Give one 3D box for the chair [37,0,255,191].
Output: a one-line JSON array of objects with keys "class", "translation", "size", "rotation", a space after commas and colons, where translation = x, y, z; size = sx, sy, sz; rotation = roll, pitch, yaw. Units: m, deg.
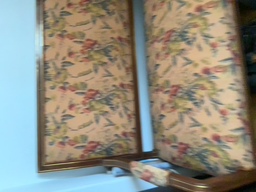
[{"class": "chair", "translation": [0.150, -0.370, 1.030], "size": [0.670, 1.000, 1.460], "rotation": [-21, 72, 57]}]
